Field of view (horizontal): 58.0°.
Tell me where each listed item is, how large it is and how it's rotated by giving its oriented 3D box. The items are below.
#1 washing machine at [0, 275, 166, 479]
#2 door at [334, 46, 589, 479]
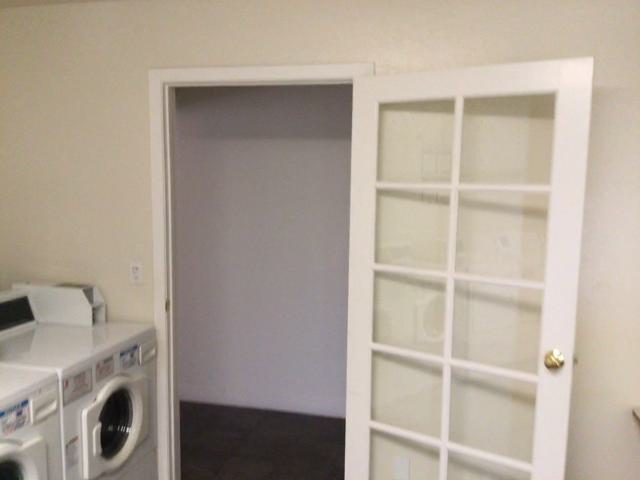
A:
[{"bbox_3d":[-1.270,0.740,2.530,0.880,1.030,0.690,1,9,11],"label":"washing machine"},{"bbox_3d":[0.500,0.350,2.250,0.900,2.000,0.160,4,10,34],"label":"door"}]
